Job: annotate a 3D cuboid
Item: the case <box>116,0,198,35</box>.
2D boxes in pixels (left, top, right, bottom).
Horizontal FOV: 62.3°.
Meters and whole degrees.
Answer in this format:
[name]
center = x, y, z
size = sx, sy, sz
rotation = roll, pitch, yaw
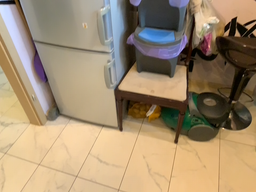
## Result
[case]
center = 0.230, -0.680, 1.300
size = 0.390, 0.290, 0.640
rotation = 13, 45, 16
